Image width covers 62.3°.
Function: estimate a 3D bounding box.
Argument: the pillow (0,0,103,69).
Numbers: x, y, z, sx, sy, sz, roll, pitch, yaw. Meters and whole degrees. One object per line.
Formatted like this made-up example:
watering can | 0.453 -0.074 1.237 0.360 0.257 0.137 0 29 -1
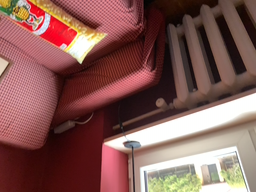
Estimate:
pillow | -0.410 -0.350 0.890 0.190 0.110 0.640 -28 138 34
